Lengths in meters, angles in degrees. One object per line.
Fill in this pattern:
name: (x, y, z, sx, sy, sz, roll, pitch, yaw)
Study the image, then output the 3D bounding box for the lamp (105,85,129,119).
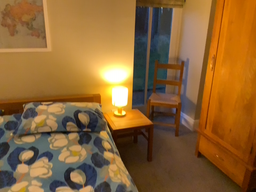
lamp: (-0.130, 0.060, 2.350, 0.200, 0.290, 0.230, -5, 21, -21)
